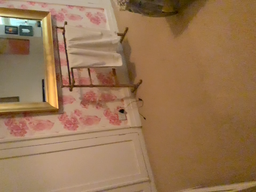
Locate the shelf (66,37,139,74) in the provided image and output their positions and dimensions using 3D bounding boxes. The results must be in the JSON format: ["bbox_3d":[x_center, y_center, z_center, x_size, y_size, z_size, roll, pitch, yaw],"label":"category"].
[{"bbox_3d":[-0.310,-0.480,2.560,0.200,0.810,0.360,128,134,-58],"label":"shelf"}]
